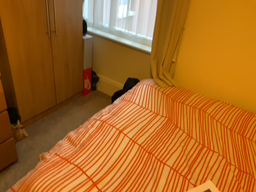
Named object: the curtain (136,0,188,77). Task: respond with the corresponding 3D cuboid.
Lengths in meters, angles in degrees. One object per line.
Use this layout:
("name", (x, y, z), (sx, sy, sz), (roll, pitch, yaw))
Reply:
("curtain", (0.350, -1.070, 1.390), (0.250, 1.960, 0.210), (23, 35, 21))
